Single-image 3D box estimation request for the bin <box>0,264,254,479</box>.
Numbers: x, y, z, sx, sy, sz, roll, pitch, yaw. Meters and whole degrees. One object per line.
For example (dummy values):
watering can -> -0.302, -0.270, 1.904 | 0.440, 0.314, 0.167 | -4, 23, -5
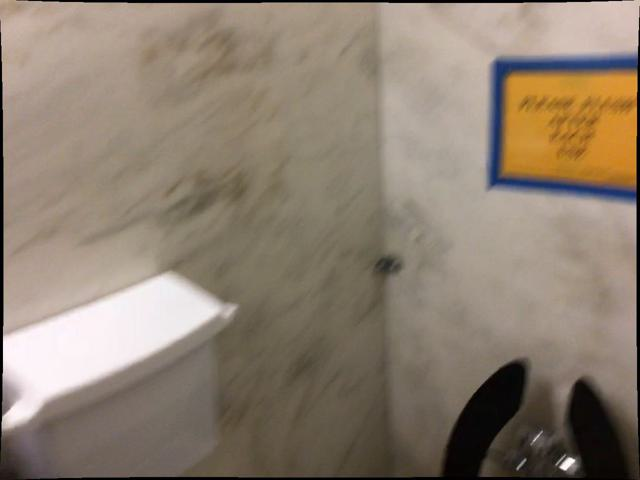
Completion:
bin -> -0.270, 0.230, 0.750 | 0.140, 0.280, 0.350 | 11, 23, 36
